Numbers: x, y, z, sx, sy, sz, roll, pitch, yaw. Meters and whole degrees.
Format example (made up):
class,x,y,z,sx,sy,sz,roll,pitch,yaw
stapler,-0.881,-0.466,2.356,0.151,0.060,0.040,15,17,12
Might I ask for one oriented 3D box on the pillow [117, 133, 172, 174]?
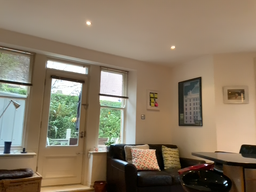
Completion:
class,x,y,z,sx,sy,sz,roll,pitch,yaw
pillow,0.260,0.960,3.560,0.650,0.660,0.300,5,42,-31

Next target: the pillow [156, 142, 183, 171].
class,x,y,z,sx,sy,sz,roll,pitch,yaw
pillow,0.790,1.100,3.950,0.210,0.370,0.610,10,4,35

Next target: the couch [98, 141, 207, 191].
class,x,y,z,sx,sy,sz,roll,pitch,yaw
couch,0.410,1.230,3.660,1.560,0.830,0.970,6,-10,-28
